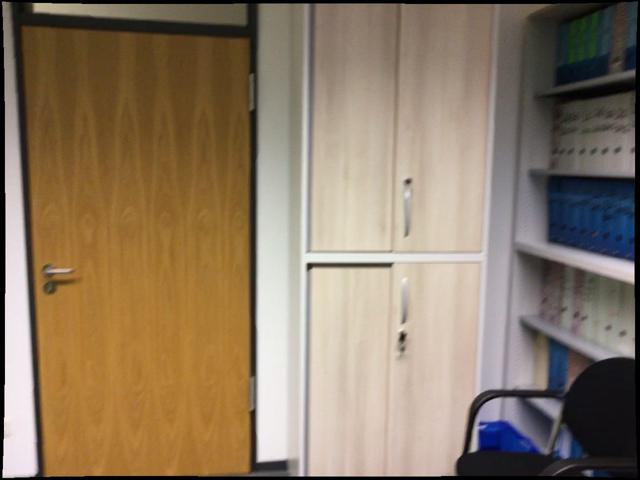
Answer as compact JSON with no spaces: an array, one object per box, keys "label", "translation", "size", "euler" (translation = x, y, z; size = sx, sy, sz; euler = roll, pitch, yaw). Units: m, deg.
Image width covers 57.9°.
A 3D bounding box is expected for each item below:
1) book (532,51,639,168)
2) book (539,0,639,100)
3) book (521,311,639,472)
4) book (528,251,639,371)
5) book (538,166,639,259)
[{"label":"book","translation":[1.289,-0.490,2.260],"size":[0.350,0.410,1.080],"euler":[0,7,-10]},{"label":"book","translation":[1.209,-0.801,2.210],"size":[0.140,0.400,1.080],"euler":[0,7,-10]},{"label":"book","translation":[1.159,0.601,2.380],"size":[0.140,0.370,1.000],"euler":[0,7,-10]},{"label":"book","translation":[1.169,0.280,2.340],"size":[0.100,0.320,1.040],"euler":[0,7,-10]},{"label":"book","translation":[1.309,-0.130,2.390],"size":[0.310,0.340,0.940],"euler":[0,7,-10]}]
